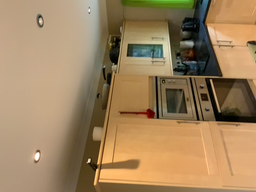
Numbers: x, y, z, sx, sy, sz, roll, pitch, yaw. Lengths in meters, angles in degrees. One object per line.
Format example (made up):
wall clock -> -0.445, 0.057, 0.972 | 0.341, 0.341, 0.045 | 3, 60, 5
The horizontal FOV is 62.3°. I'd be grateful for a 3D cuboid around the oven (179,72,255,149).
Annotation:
oven -> 1.000, 0.170, 2.410 | 0.600, 0.660, 0.610 | 90, -177, -49
